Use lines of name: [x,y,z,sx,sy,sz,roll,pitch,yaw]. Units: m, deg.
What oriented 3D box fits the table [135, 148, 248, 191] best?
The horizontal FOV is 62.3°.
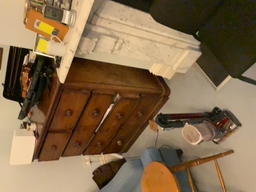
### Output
table: [0.460,0.600,1.530,0.350,0.690,0.320,-37,57,48]
